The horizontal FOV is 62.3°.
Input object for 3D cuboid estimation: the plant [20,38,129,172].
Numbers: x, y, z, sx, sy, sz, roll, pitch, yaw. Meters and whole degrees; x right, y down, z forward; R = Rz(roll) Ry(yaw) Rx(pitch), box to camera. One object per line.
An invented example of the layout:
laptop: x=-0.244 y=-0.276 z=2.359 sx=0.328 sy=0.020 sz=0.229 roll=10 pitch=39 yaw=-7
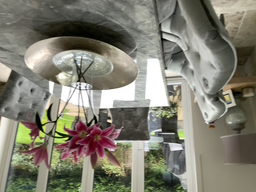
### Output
plant: x=-0.230 y=0.060 z=1.080 sx=0.400 sy=0.600 sz=0.260 roll=-3 pitch=160 yaw=14

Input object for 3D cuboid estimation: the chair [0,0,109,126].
chair: x=-0.590 y=-0.320 z=1.760 sx=0.670 sy=1.030 sz=0.520 roll=-3 pitch=161 yaw=14
